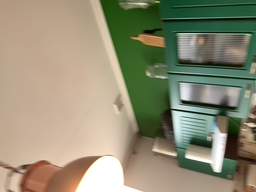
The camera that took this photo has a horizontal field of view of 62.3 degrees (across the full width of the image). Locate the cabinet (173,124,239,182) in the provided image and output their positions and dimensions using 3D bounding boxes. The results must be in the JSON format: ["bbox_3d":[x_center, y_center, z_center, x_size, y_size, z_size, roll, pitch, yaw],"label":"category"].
[{"bbox_3d":[0.840,0.620,2.330,0.430,0.600,0.310,73,-146,-43],"label":"cabinet"}]

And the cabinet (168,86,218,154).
[{"bbox_3d":[0.630,0.240,2.040,0.590,0.370,0.290,73,-146,-43],"label":"cabinet"}]

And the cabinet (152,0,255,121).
[{"bbox_3d":[0.510,-0.440,1.320,1.370,0.590,0.310,73,-146,-43],"label":"cabinet"}]
